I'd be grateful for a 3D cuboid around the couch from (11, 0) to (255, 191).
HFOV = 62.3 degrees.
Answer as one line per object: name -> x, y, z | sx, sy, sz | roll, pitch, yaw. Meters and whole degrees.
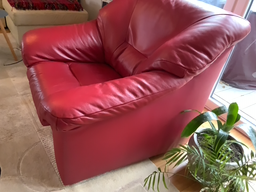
couch -> -0.090, -0.190, 1.330 | 0.990, 0.870, 0.970 | -10, 38, -29
